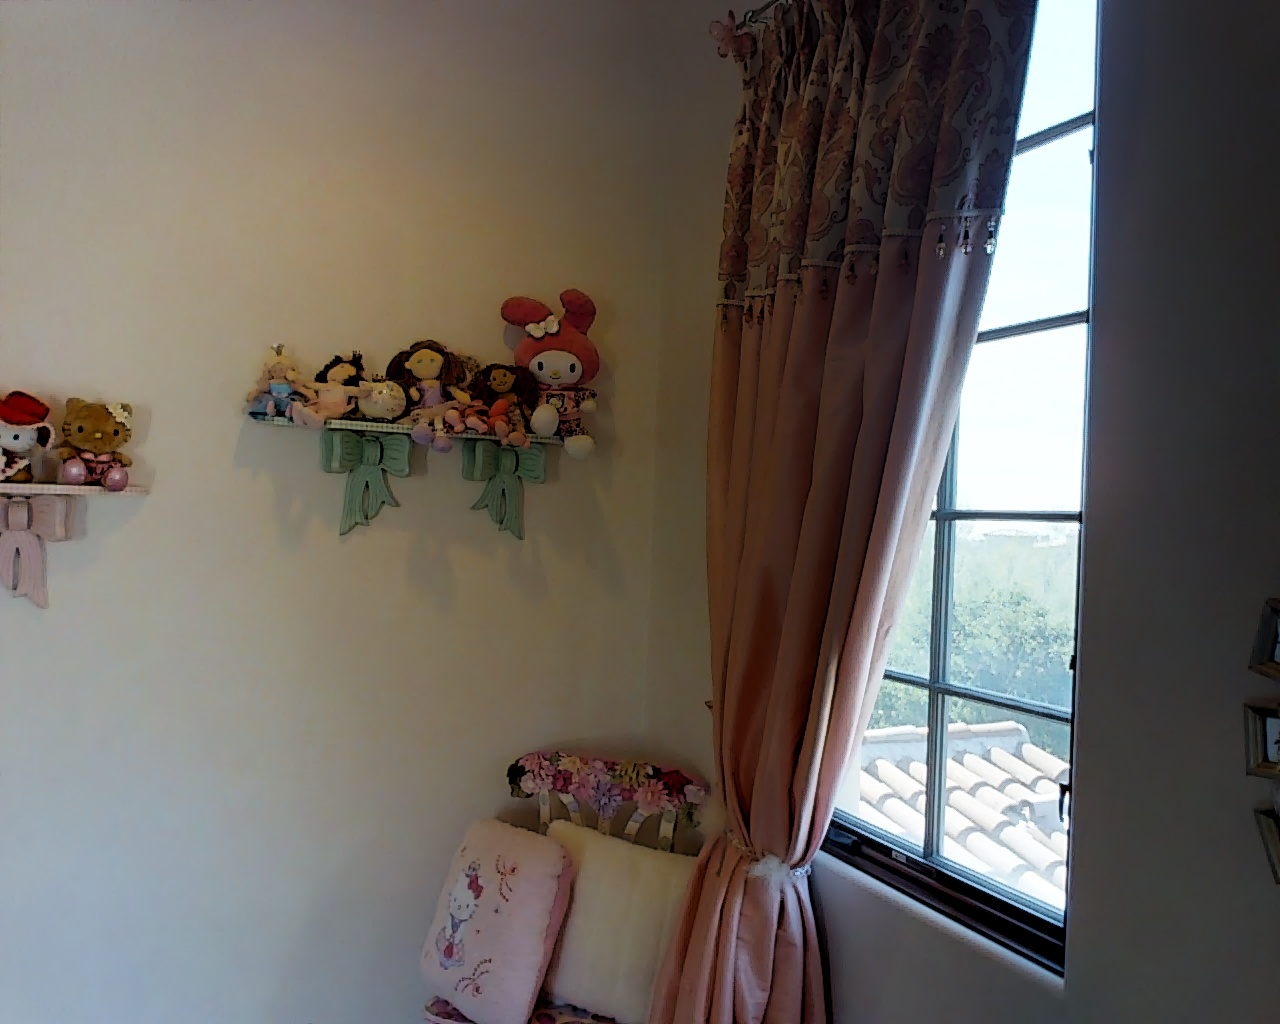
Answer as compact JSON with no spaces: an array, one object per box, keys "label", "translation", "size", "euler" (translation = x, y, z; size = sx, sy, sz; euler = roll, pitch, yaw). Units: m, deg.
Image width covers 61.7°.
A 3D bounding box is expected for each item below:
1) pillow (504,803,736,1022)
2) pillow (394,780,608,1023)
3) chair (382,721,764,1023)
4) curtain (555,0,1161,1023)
[{"label":"pillow","translation":[-0.050,0.930,2.500],"size":[0.470,0.410,0.180],"euler":[-11,-21,8]},{"label":"pillow","translation":[-0.350,0.960,2.540],"size":[0.230,0.500,0.480],"euler":[-2,-25,-34]},{"label":"chair","translation":[-0.140,1.100,2.670],"size":[0.660,0.970,0.730],"euler":[2,0,25]},{"label":"curtain","translation":[0.260,0.120,1.990],"size":[0.320,2.660,1.320],"euler":[2,0,-24]}]
